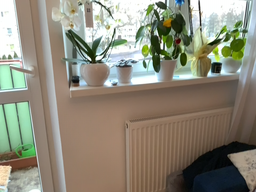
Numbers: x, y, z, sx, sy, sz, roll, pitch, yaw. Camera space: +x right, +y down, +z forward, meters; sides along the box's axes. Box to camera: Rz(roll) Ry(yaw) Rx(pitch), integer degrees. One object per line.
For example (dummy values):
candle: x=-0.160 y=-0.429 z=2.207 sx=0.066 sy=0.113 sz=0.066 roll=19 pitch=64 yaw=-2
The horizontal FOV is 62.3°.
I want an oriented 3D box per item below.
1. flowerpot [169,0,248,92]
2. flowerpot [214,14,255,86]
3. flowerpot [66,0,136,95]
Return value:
flowerpot: x=0.520 y=-0.380 z=1.450 sx=0.290 sy=0.600 sz=0.360 roll=-7 pitch=19 yaw=-22
flowerpot: x=0.830 y=-0.330 z=1.510 sx=0.290 sy=0.460 sz=0.210 roll=-7 pitch=18 yaw=-21
flowerpot: x=-0.150 y=-0.300 z=1.180 sx=0.300 sy=0.510 sz=0.250 roll=-9 pitch=19 yaw=-25
